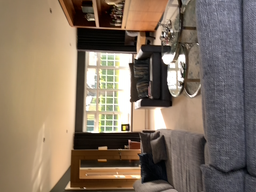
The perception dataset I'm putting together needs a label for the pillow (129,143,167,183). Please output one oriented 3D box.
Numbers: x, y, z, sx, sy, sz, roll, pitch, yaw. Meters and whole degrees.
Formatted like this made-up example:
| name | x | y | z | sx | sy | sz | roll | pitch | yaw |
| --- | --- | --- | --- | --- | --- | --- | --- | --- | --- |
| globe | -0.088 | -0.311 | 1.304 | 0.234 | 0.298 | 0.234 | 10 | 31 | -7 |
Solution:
| name | x | y | z | sx | sy | sz | roll | pitch | yaw |
| --- | --- | --- | --- | --- | --- | --- | --- | --- | --- |
| pillow | 0.320 | 1.080 | 3.480 | 0.160 | 0.590 | 0.530 | 27 | -111 | -28 |
